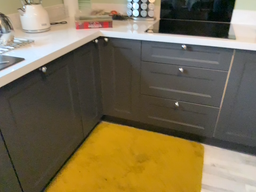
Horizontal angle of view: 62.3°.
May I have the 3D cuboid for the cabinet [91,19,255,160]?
[{"bbox_3d":[0.470,-0.120,1.820,1.370,0.840,0.610,9,31,15],"label":"cabinet"}]
